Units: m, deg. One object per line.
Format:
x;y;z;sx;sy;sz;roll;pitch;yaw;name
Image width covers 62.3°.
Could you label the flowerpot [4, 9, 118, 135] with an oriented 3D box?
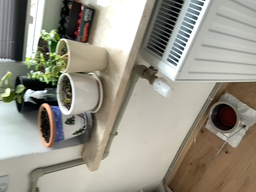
-0.270;-0.090;0.790;0.280;0.280;0.320;45;126;39;flowerpot
